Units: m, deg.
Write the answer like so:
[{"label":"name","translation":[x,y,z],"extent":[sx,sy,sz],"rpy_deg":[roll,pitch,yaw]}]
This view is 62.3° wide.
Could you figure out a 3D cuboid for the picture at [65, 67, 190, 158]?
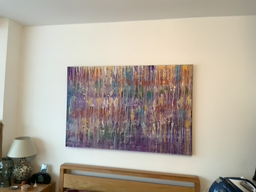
[{"label":"picture","translation":[-0.030,0.150,2.210],"extent":[1.290,0.890,0.060],"rpy_deg":[1,-2,10]}]
